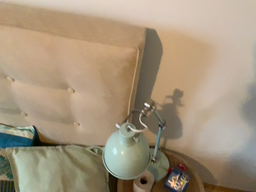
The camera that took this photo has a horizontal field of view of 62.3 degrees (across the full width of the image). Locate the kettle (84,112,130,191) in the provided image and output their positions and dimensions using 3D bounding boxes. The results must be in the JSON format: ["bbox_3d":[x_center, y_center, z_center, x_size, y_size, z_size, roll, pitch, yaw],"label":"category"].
[{"bbox_3d":[-0.070,0.290,0.700,0.080,0.480,0.210,8,46,-1],"label":"kettle"}]
